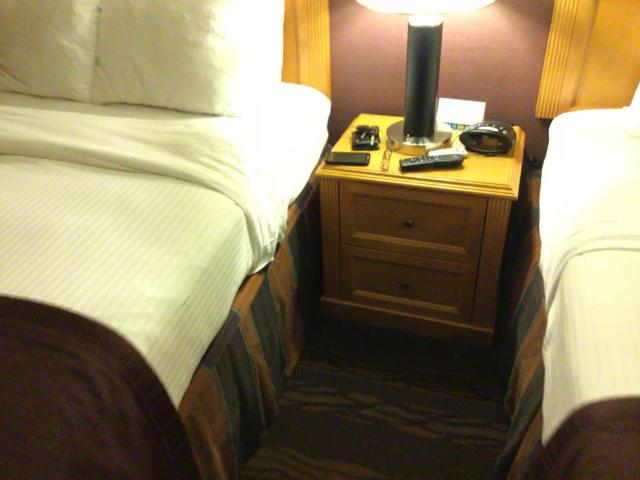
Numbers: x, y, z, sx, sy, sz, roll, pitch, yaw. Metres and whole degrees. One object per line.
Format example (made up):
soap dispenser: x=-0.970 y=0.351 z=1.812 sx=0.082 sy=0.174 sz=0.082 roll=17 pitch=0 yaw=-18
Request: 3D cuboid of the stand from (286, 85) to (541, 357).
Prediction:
stand: x=0.320 y=-0.090 z=1.970 sx=0.700 sy=0.700 sz=0.500 roll=7 pitch=33 yaw=15

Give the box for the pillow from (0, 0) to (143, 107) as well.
pillow: x=-0.950 y=-0.680 z=1.920 sx=0.590 sy=0.370 sz=0.250 roll=7 pitch=33 yaw=15

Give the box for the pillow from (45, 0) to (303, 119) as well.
pillow: x=-0.440 y=-0.660 z=1.860 sx=0.660 sy=0.380 sz=0.390 roll=7 pitch=33 yaw=15
